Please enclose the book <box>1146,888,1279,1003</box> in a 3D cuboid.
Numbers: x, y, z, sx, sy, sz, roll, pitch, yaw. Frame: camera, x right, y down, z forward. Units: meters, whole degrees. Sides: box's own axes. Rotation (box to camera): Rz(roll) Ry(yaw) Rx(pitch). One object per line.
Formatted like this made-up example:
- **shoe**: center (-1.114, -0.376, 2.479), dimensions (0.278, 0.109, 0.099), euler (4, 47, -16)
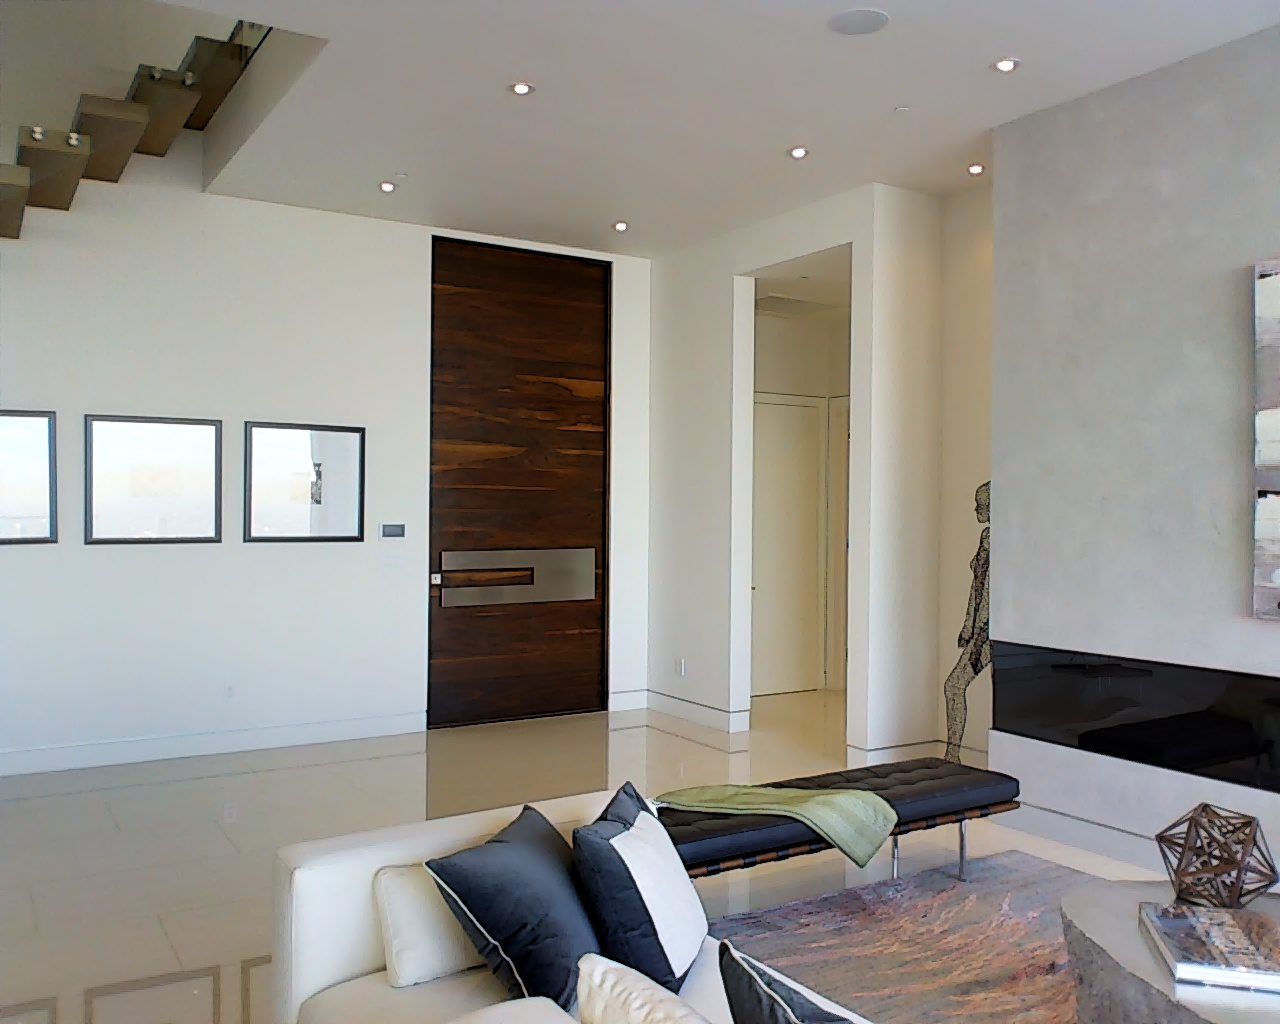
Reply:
- **book**: center (1.470, 1.060, 2.650), dimensions (0.340, 0.080, 0.460), euler (0, 1, 16)
